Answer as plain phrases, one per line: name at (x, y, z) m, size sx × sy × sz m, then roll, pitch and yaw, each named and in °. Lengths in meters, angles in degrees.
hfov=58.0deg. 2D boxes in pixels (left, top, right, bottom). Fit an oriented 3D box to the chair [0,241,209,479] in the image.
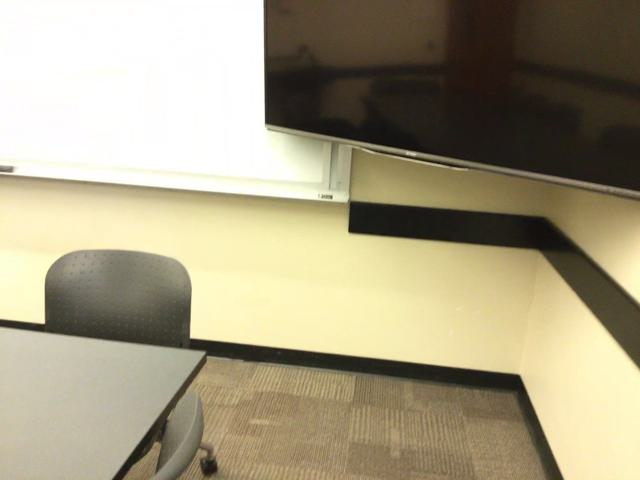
chair at (-0.700, 0.490, 1.750) m, size 0.580 × 0.830 × 0.570 m, roll 3°, pitch 15°, yaw 4°
